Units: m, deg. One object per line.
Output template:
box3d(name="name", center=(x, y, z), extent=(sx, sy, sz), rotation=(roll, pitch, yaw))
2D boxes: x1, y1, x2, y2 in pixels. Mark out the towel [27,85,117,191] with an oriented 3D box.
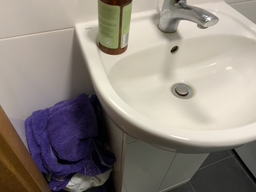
box3d(name="towel", center=(-0.190, 0.270, 0.840), extent=(0.200, 0.610, 0.230), rotation=(-16, 52, -18))
